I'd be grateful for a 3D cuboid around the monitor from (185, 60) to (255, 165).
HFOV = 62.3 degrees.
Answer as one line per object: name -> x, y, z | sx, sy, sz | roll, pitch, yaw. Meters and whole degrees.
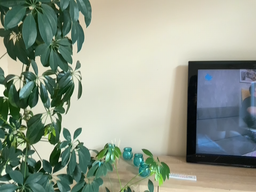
monitor -> 0.920, 0.110, 1.280 | 1.090, 0.640, 0.060 | 1, 8, 10
